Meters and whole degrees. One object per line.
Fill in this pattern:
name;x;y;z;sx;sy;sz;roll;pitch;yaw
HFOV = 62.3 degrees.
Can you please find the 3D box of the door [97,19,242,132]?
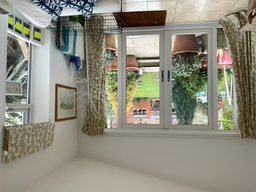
door;0.740;-0.390;4.140;2.710;2.070;0.170;0;178;8
